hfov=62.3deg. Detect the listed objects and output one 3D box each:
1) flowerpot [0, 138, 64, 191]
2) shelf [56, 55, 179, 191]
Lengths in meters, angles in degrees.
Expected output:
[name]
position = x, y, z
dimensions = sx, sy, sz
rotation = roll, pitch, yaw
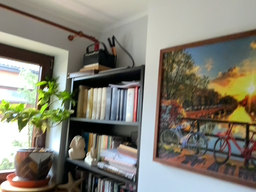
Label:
[flowerpot]
position = -0.770, 0.550, 1.690
dimensions = 0.340, 0.380, 0.350
rotation = -2, -8, 45
[shelf]
position = -0.160, 0.800, 1.480
dimensions = 0.310, 2.000, 0.890
rotation = 9, -8, -44
